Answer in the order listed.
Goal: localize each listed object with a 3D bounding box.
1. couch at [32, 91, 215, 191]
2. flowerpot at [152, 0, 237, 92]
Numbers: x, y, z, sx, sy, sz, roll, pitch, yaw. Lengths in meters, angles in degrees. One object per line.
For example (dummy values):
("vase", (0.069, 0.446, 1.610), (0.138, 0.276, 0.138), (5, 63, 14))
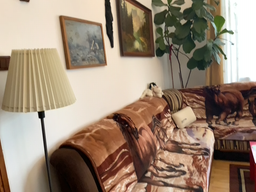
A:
("couch", (0.320, 0.610, 2.170), (0.950, 0.980, 2.170), (-1, 10, 25))
("flowerpot", (1.070, -1.020, 3.560), (0.890, 1.720, 1.010), (-8, 9, -18))
